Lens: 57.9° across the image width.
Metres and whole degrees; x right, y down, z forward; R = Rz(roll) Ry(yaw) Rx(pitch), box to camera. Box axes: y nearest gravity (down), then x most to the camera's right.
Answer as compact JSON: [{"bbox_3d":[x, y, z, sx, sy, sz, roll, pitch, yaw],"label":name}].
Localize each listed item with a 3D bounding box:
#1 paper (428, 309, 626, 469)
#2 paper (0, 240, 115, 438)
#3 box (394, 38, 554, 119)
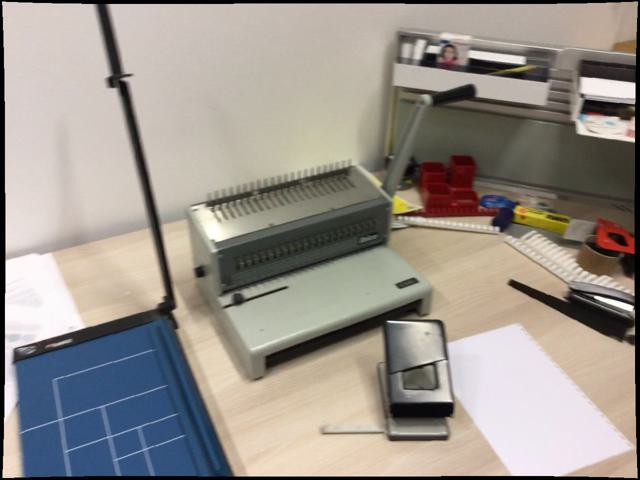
[{"bbox_3d":[0.360,0.250,1.040,0.210,0.020,0.280,-14,40,-19],"label":"paper"},{"bbox_3d":[-0.589,0.170,1.070,0.280,0.020,0.460,-20,42,-26],"label":"paper"},{"bbox_3d":[0.360,-0.390,1.380,0.340,0.090,0.190,8,38,9],"label":"box"}]
